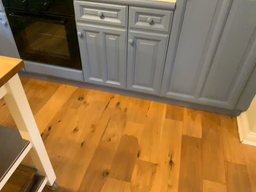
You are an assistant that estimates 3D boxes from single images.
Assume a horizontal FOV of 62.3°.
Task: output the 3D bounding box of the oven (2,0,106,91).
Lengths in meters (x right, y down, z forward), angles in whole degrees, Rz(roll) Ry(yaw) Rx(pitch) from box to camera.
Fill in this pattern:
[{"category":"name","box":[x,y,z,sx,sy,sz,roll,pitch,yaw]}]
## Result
[{"category":"oven","box":[-0.600,-0.620,1.980,0.600,0.880,0.590,11,42,9]}]
